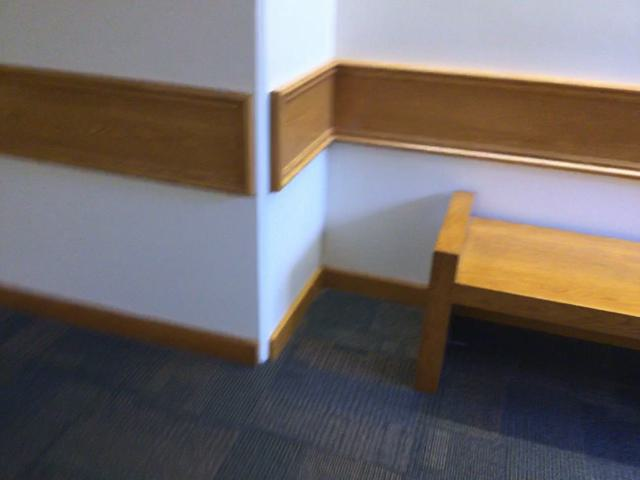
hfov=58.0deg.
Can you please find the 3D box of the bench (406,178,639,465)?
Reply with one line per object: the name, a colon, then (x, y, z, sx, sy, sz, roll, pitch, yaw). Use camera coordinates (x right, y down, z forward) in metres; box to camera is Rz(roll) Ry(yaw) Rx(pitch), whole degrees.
bench: (1.210, 0.300, 1.690, 1.790, 0.580, 0.560, 10, 32, 20)
